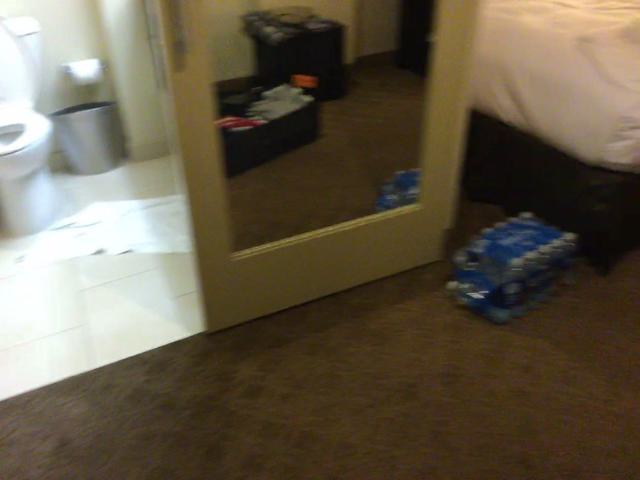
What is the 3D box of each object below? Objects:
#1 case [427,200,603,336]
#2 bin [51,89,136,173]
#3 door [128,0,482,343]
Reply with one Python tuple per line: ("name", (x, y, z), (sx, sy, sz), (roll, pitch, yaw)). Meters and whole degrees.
("case", (0.640, 0.080, 1.950), (0.440, 0.210, 0.320), (-16, 35, -16))
("bin", (-1.140, -0.550, 2.920), (0.320, 0.320, 0.170), (-16, 35, -16))
("door", (0.010, -0.420, 1.640), (0.930, 1.440, 0.130), (-16, 35, -16))
